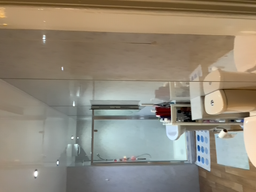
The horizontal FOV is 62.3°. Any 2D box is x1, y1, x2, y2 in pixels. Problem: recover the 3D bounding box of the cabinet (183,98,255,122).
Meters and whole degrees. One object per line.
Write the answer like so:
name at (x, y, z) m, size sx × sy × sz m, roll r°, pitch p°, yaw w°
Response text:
cabinet at (1.030, 0.150, 2.210) m, size 0.260 × 0.850 × 0.220 m, roll 129°, pitch 142°, yaw -80°
